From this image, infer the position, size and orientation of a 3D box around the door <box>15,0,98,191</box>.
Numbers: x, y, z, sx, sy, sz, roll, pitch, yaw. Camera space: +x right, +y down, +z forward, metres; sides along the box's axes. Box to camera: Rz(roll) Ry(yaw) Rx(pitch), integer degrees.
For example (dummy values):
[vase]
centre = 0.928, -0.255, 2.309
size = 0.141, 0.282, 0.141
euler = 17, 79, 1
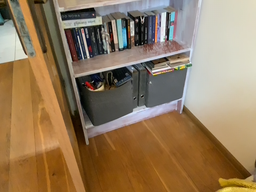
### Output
[door]
centre = -0.370, -0.350, 0.920
size = 0.090, 2.100, 0.860
euler = -15, 40, -15

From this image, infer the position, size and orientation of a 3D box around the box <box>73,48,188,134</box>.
[box]
centre = 0.020, -0.060, 1.580
size = 0.730, 0.370, 0.300
euler = -15, 40, -16

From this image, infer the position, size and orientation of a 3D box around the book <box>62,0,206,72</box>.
[book]
centre = 0.030, -0.440, 1.390
size = 0.810, 0.260, 0.360
euler = -14, 40, -15
